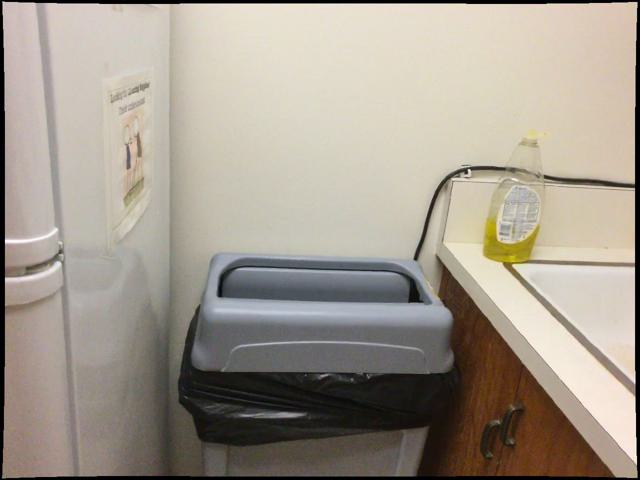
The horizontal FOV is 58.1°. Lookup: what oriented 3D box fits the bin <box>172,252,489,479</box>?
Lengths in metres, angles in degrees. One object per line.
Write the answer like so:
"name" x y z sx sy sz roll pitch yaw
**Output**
"bin" -0.030 0.511 1.380 0.598 0.892 0.320 2 21 -9
